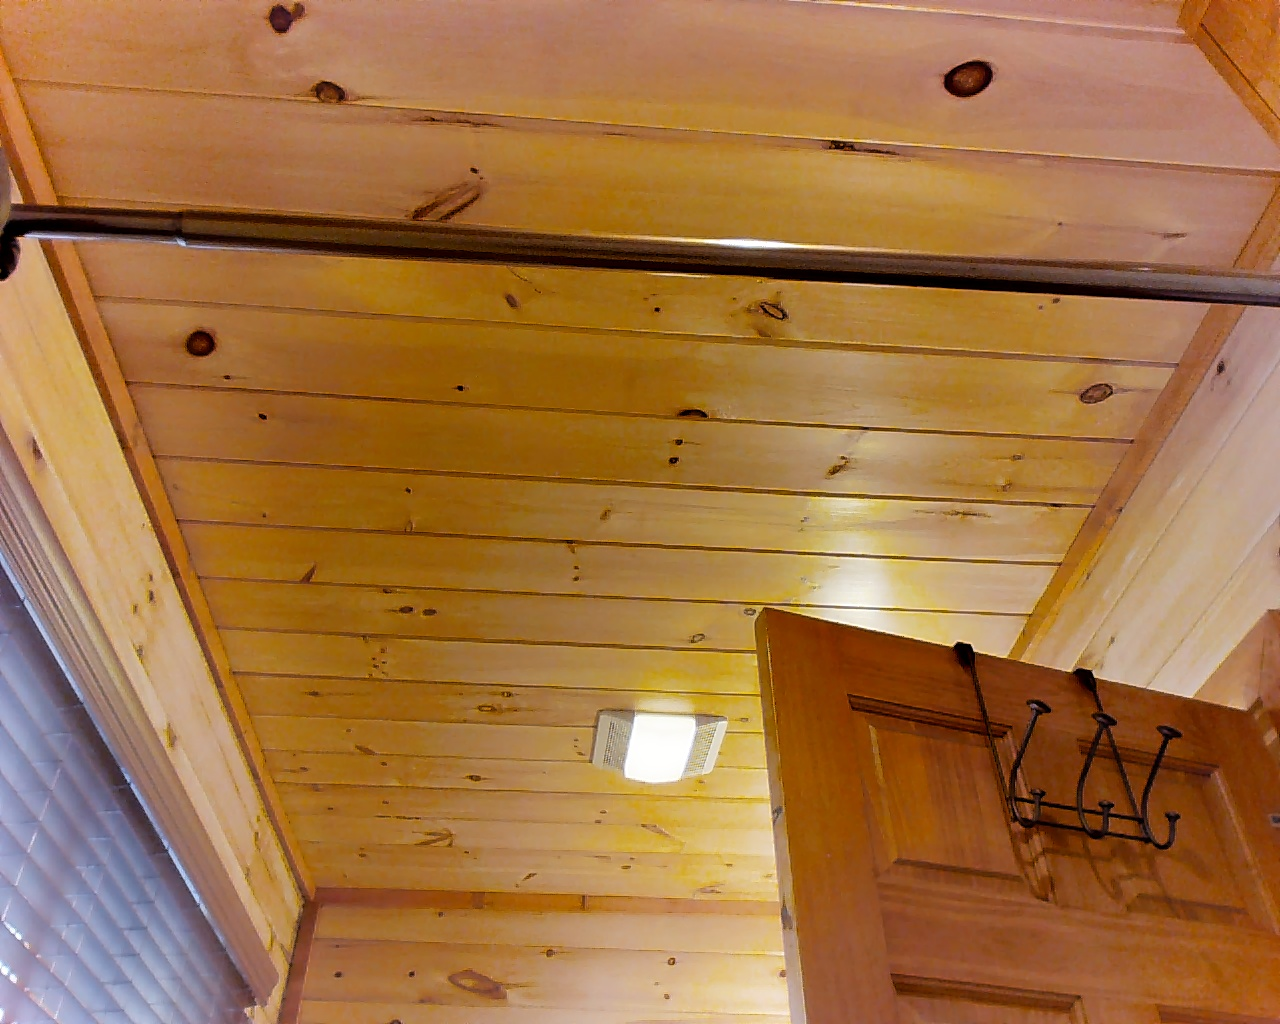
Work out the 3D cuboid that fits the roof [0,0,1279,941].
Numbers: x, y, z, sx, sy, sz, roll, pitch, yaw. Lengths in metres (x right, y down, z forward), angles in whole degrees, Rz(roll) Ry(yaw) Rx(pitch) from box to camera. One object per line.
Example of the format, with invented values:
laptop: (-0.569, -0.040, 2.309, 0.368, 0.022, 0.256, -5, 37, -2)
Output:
roof: (0.000, 0.000, 1.970, 1.790, 0.130, 3.760, 3, -42, -3)
